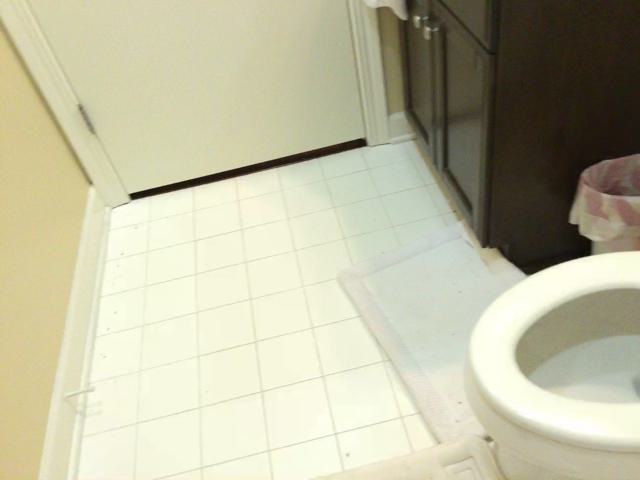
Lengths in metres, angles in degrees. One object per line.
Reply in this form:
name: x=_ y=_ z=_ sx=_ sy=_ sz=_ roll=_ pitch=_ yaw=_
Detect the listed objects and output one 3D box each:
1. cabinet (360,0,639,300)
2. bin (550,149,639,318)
cabinet: x=0.500 y=-0.500 z=1.430 sx=0.650 sy=0.940 sz=0.730 roll=-13 pitch=42 yaw=-1
bin: x=0.760 y=-0.030 z=1.330 sx=0.350 sy=0.310 sz=0.190 roll=-13 pitch=42 yaw=-1
